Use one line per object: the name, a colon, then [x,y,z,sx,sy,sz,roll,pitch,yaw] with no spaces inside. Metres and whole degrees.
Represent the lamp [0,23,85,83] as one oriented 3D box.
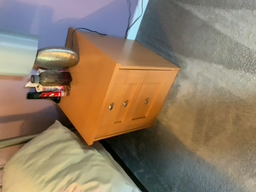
lamp: [-0.510,-0.220,1.120,0.210,0.470,0.210,44,123,33]
